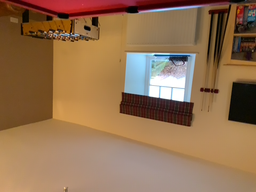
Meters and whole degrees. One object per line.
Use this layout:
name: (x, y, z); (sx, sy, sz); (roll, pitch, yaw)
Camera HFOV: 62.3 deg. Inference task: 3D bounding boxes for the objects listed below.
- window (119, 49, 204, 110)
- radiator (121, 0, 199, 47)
window: (0.600, -0.350, 3.920); (1.340, 0.930, 0.650); (8, -170, 27)
radiator: (0.470, -1.240, 3.350); (1.190, 0.870, 0.160); (8, -170, 27)
